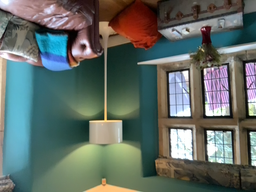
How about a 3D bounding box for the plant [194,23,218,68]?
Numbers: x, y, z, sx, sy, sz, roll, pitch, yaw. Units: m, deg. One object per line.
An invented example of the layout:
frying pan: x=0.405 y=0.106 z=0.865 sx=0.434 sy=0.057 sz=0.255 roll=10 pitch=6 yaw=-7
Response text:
plant: x=0.930 y=-0.590 z=2.530 sx=0.230 sy=0.450 sz=0.190 roll=-3 pitch=175 yaw=31
